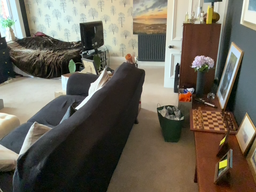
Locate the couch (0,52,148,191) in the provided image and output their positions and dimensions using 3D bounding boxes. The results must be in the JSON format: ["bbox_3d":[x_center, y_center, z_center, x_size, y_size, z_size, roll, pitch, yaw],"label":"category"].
[{"bbox_3d":[-0.540,0.260,2.090,1.110,0.870,2.210,5,25,13],"label":"couch"}]
